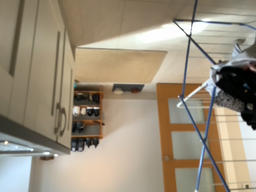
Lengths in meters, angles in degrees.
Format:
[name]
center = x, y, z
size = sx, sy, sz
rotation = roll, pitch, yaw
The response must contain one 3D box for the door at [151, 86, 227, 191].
[door]
center = 0.740, 0.830, 2.550
size = 0.800, 1.980, 0.070
rotation = 0, 163, -7
